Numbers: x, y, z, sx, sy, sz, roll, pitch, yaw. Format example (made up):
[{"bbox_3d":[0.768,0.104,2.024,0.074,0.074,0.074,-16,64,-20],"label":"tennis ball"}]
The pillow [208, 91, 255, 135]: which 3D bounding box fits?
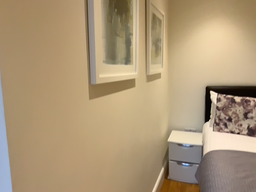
[{"bbox_3d":[1.100,0.170,2.230,0.410,0.350,0.130,15,13,18],"label":"pillow"}]
